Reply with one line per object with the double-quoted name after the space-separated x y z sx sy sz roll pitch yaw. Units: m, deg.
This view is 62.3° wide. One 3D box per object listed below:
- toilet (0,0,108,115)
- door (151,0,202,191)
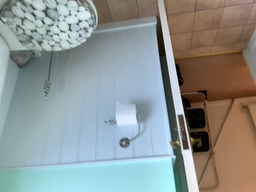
-0.480 -0.350 1.080 0.670 0.740 0.410 -7 151 7 "toilet"
0.330 0.420 1.180 0.070 1.930 0.830 -10 150 12 "door"
